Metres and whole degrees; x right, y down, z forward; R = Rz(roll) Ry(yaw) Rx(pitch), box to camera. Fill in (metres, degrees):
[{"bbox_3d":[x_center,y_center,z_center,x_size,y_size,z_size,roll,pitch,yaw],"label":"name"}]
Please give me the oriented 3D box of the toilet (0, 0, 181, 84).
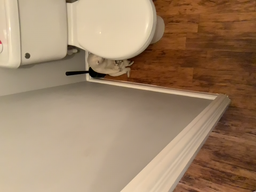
[{"bbox_3d":[-0.190,-0.380,1.130,0.690,0.790,0.440,10,107,30],"label":"toilet"}]
